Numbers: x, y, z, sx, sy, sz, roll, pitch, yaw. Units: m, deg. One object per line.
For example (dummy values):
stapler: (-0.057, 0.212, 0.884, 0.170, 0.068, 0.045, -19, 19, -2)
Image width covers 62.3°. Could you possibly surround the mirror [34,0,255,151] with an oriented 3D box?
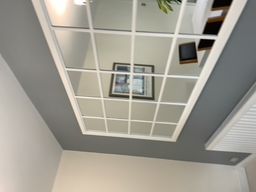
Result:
mirror: (0.050, -0.050, 1.720, 1.990, 1.080, 0.160, 93, -178, -54)
